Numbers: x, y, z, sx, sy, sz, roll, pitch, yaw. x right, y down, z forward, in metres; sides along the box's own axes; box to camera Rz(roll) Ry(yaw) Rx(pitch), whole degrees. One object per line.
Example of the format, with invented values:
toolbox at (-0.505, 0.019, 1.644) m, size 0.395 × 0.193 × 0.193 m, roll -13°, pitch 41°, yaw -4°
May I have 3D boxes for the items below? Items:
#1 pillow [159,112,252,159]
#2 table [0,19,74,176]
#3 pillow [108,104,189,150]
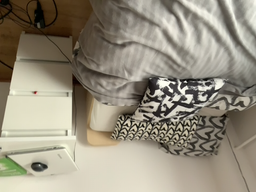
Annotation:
pillow at (0.540, 0.300, 1.550) m, size 0.460 × 0.180 × 0.410 m, roll 3°, pitch 146°, yaw -19°
table at (-0.780, 0.010, 1.230) m, size 0.870 × 0.760 × 0.510 m, roll 3°, pitch 146°, yaw -18°
pillow at (0.110, 0.220, 1.430) m, size 0.420 × 0.130 × 0.410 m, roll 2°, pitch 146°, yaw -16°
